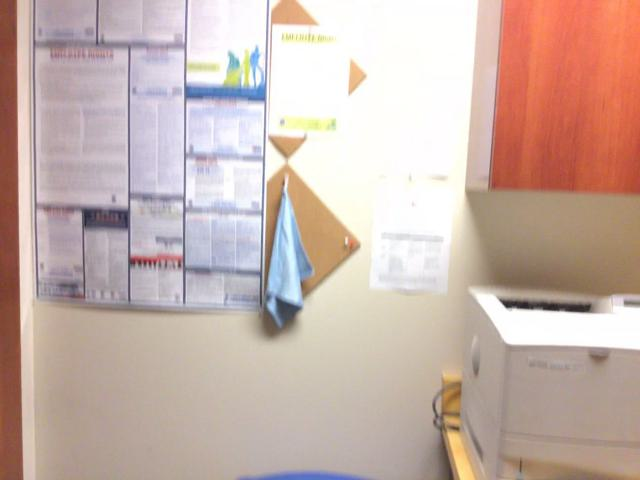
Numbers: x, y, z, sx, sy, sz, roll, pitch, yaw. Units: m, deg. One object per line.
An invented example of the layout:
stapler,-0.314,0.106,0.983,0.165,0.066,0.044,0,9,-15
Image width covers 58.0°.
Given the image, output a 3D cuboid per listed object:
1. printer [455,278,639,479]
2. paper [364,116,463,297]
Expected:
printer,0.540,0.320,1.230,0.420,0.390,0.430,4,5,7
paper,0.250,-0.090,1.560,0.230,0.470,0.040,4,5,7
